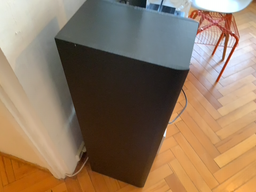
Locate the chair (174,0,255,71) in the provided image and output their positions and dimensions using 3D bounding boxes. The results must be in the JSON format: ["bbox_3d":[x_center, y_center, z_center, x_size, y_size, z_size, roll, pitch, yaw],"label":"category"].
[{"bbox_3d":[0.800,-0.720,1.800,0.560,0.800,0.470,16,55,8],"label":"chair"}]
